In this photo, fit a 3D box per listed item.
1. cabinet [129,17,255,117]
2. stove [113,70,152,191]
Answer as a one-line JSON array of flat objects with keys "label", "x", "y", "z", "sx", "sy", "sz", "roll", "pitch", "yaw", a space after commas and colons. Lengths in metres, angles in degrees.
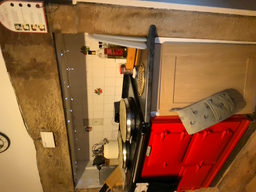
[{"label": "cabinet", "x": 0.510, "y": -0.240, "z": 1.630, "sx": 0.620, "sy": 0.890, "sz": 0.470, "roll": -102, "pitch": 15, "yaw": -50}, {"label": "stove", "x": -0.010, "y": 0.400, "z": 2.000, "sx": 0.700, "sy": 0.140, "sz": 1.080, "roll": -102, "pitch": 15, "yaw": -50}]
